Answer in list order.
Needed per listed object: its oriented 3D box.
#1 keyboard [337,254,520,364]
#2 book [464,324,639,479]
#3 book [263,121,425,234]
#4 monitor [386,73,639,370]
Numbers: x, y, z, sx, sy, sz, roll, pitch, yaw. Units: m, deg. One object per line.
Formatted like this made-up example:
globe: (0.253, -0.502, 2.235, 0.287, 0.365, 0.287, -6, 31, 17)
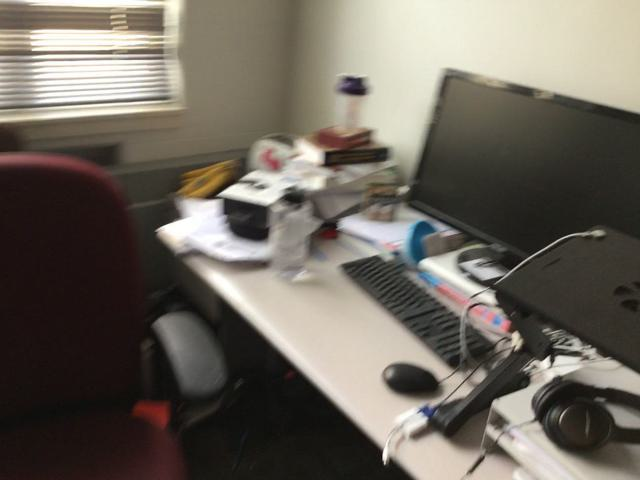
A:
keyboard: (0.230, 0.140, 1.330, 0.180, 0.050, 0.410, -9, 24, -32)
book: (0.490, 0.320, 0.900, 0.370, 0.160, 0.340, -12, 26, -37)
book: (0.070, -0.210, 1.780, 0.390, 0.250, 0.280, -12, 26, -37)
monitor: (0.500, -0.100, 1.360, 0.260, 0.500, 0.640, -12, 26, -37)
